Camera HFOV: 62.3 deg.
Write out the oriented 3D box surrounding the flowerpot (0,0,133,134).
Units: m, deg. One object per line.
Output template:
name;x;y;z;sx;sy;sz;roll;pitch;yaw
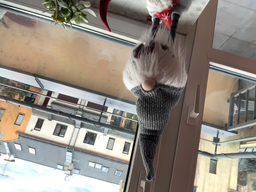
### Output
flowerpot;-0.250;-0.150;0.820;0.410;0.440;0.430;15;161;-2
